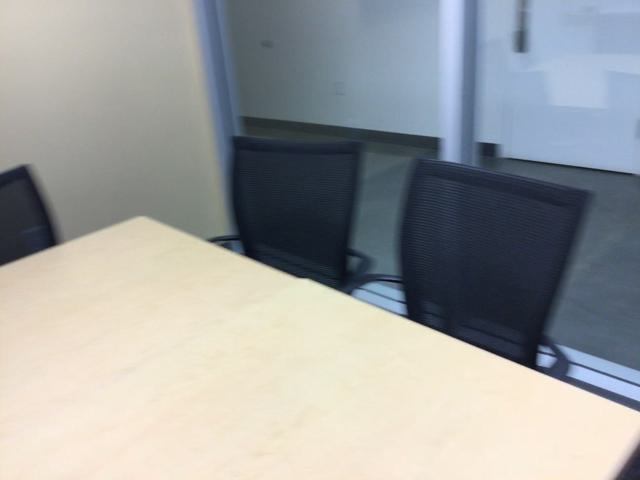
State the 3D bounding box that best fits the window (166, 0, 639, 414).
[{"bbox_3d":[0.320,-0.720,1.960,2.460,2.340,0.250,13,29,41],"label":"window"}]
